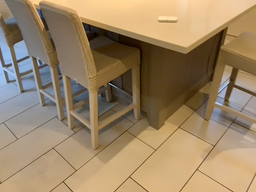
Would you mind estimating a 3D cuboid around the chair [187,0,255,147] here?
[{"bbox_3d":[0.810,-0.210,1.490,0.490,0.980,0.410,29,47,34],"label":"chair"}]

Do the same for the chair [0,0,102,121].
[{"bbox_3d":[-0.610,-0.380,1.790,0.430,0.980,0.520,29,47,35],"label":"chair"}]

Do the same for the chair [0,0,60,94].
[{"bbox_3d":[-1.130,-0.610,2.130,0.450,0.970,0.490,29,47,35],"label":"chair"}]
